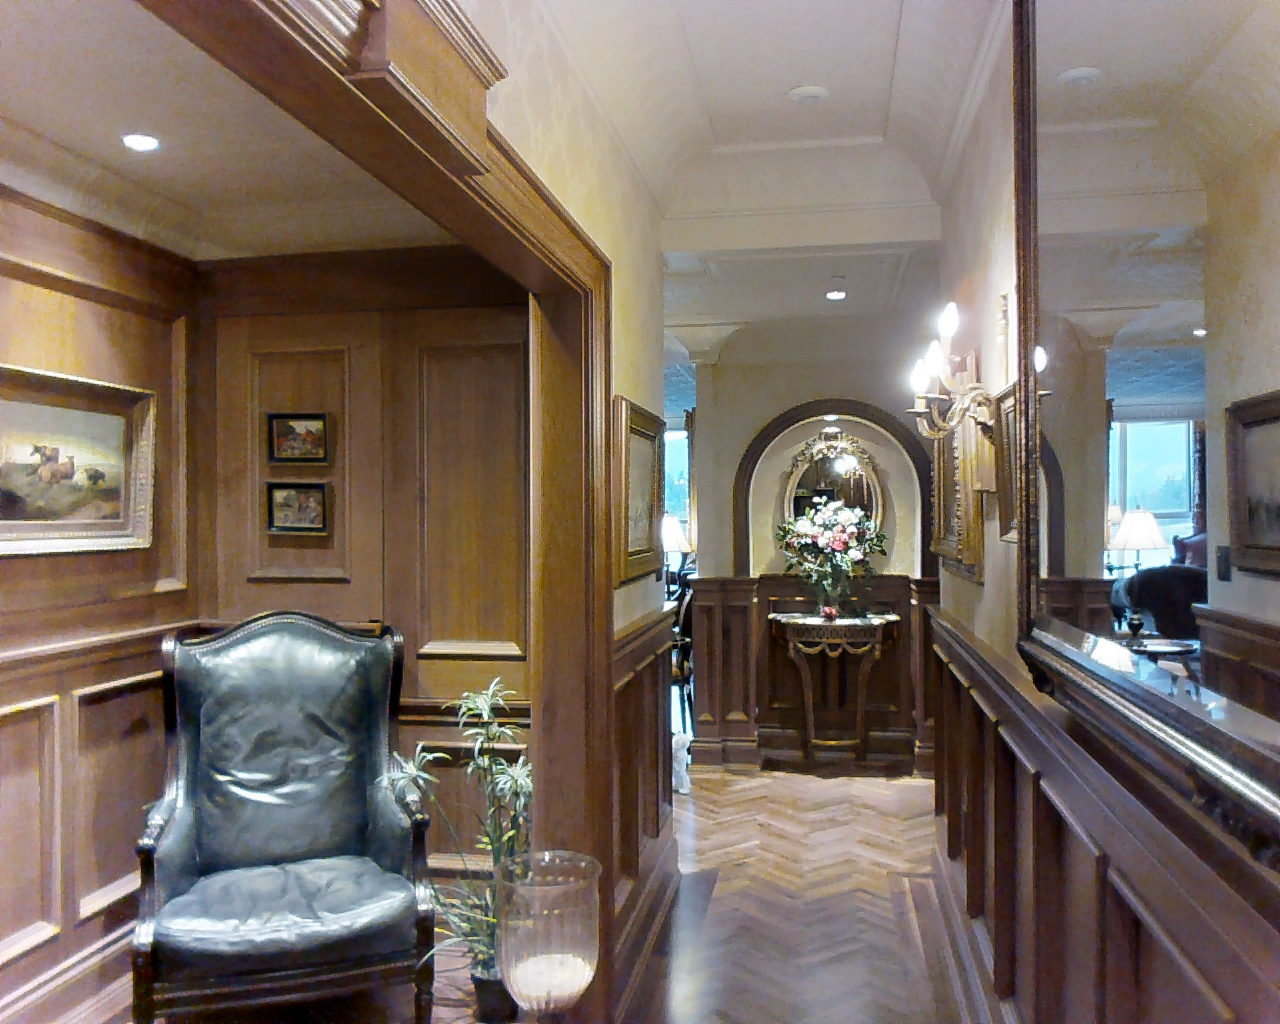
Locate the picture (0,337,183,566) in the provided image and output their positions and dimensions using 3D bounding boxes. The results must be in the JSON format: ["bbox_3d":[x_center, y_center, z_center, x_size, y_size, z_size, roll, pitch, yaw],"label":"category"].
[{"bbox_3d":[-1.590,-0.150,3.050,0.120,0.570,0.810,0,0,10],"label":"picture"}]
